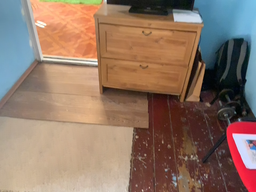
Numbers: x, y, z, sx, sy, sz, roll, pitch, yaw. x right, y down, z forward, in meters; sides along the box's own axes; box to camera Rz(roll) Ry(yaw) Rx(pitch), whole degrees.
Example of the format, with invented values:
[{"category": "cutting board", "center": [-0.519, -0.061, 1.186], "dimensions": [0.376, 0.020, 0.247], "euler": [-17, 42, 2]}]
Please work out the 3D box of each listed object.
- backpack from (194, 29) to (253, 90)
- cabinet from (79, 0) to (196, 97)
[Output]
[{"category": "backpack", "center": [0.940, -0.370, 2.180], "dimensions": [0.360, 0.510, 0.300], "euler": [5, 39, 2]}, {"category": "cabinet", "center": [0.070, -0.490, 2.030], "dimensions": [0.880, 0.790, 0.490], "euler": [5, 40, 3]}]
